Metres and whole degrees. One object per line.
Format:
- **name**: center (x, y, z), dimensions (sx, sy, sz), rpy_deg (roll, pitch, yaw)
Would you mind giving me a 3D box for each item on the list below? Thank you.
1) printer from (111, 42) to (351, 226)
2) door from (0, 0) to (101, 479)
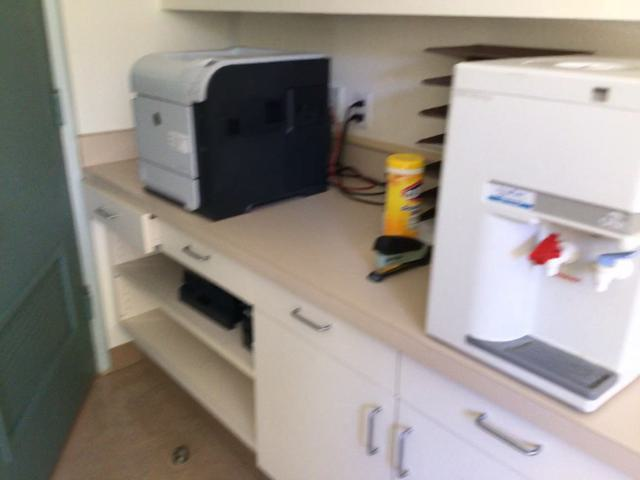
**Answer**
- **printer**: center (-0.270, -0.360, 1.750), dimensions (0.490, 0.410, 0.510), rpy_deg (-17, 29, -37)
- **door**: center (-0.850, -0.230, 1.490), dimensions (0.140, 2.040, 0.860), rpy_deg (-1, 23, -7)
